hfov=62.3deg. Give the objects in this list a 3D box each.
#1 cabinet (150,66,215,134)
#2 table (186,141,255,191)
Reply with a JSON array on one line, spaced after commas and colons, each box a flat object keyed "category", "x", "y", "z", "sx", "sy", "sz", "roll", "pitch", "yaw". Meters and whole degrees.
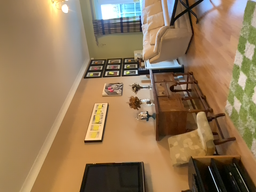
[{"category": "cabinet", "x": 0.810, "y": 0.000, "z": 3.560, "sx": 1.280, "sy": 0.780, "sz": 0.500, "roll": -89, "pitch": -4, "yaw": -59}, {"category": "table", "x": 0.930, "y": 0.920, "z": 2.080, "sx": 0.770, "sy": 0.510, "sz": 0.520, "roll": -89, "pitch": -4, "yaw": -57}]
